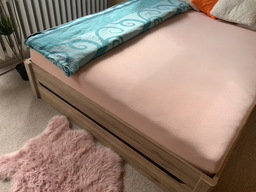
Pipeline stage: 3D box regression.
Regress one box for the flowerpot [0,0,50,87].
[{"bbox_3d":[-0.980,-0.640,1.810,0.300,1.110,0.290,23,44,19],"label":"flowerpot"}]
